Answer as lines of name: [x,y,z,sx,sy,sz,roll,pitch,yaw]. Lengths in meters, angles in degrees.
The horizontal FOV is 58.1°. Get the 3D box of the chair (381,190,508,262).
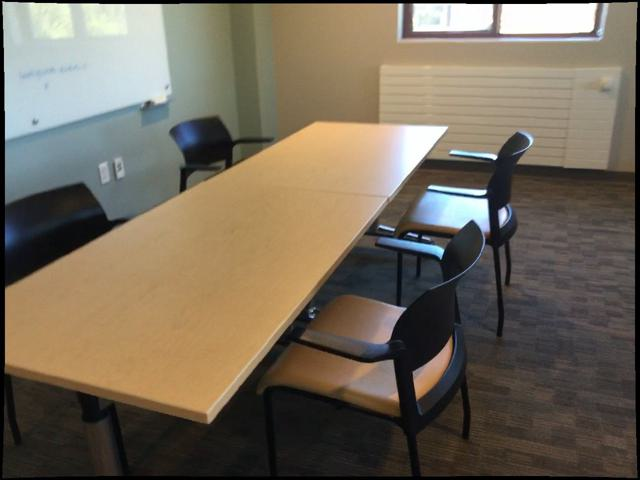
chair: [0.569,-0.080,2.580,0.479,0.110,0.470,6,26,20]

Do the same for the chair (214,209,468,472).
chair: [0.100,0.221,1.600,0.509,0.391,0.580,6,26,20]
